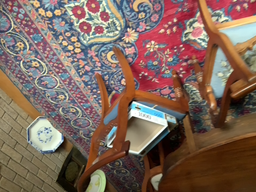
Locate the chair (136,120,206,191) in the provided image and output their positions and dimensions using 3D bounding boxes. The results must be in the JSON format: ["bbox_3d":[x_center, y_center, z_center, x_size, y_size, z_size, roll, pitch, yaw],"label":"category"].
[{"bbox_3d":[0.410,0.740,2.000,0.530,0.830,0.440,-15,132,15],"label":"chair"}]

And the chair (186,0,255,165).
[{"bbox_3d":[0.590,-0.220,1.030,0.430,0.870,0.530,-10,133,10],"label":"chair"}]

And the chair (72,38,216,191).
[{"bbox_3d":[0.070,0.130,1.370,0.590,0.890,0.410,19,131,-17],"label":"chair"}]
